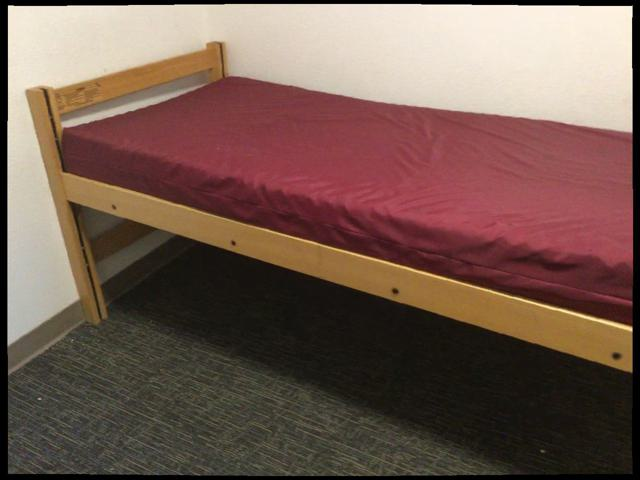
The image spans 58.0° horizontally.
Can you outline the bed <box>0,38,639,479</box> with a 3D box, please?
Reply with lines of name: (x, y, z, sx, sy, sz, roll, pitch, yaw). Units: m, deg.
bed: (0.190, -0.040, 2.010, 2.287, 0.941, 1.170, 13, 32, 24)
